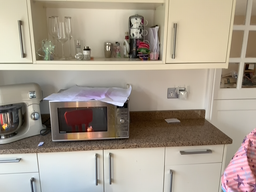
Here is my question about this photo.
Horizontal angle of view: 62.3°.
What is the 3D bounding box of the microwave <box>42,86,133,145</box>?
[{"bbox_3d":[-0.250,0.110,1.460,0.520,0.270,0.410,-1,14,-6],"label":"microwave"}]
